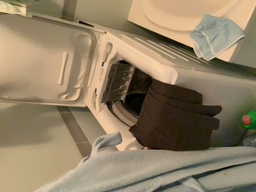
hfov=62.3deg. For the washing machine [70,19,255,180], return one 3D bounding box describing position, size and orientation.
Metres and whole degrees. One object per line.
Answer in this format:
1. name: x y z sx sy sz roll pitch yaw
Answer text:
1. washing machine: 0.220 -0.020 1.170 0.600 0.820 0.470 43 122 45
